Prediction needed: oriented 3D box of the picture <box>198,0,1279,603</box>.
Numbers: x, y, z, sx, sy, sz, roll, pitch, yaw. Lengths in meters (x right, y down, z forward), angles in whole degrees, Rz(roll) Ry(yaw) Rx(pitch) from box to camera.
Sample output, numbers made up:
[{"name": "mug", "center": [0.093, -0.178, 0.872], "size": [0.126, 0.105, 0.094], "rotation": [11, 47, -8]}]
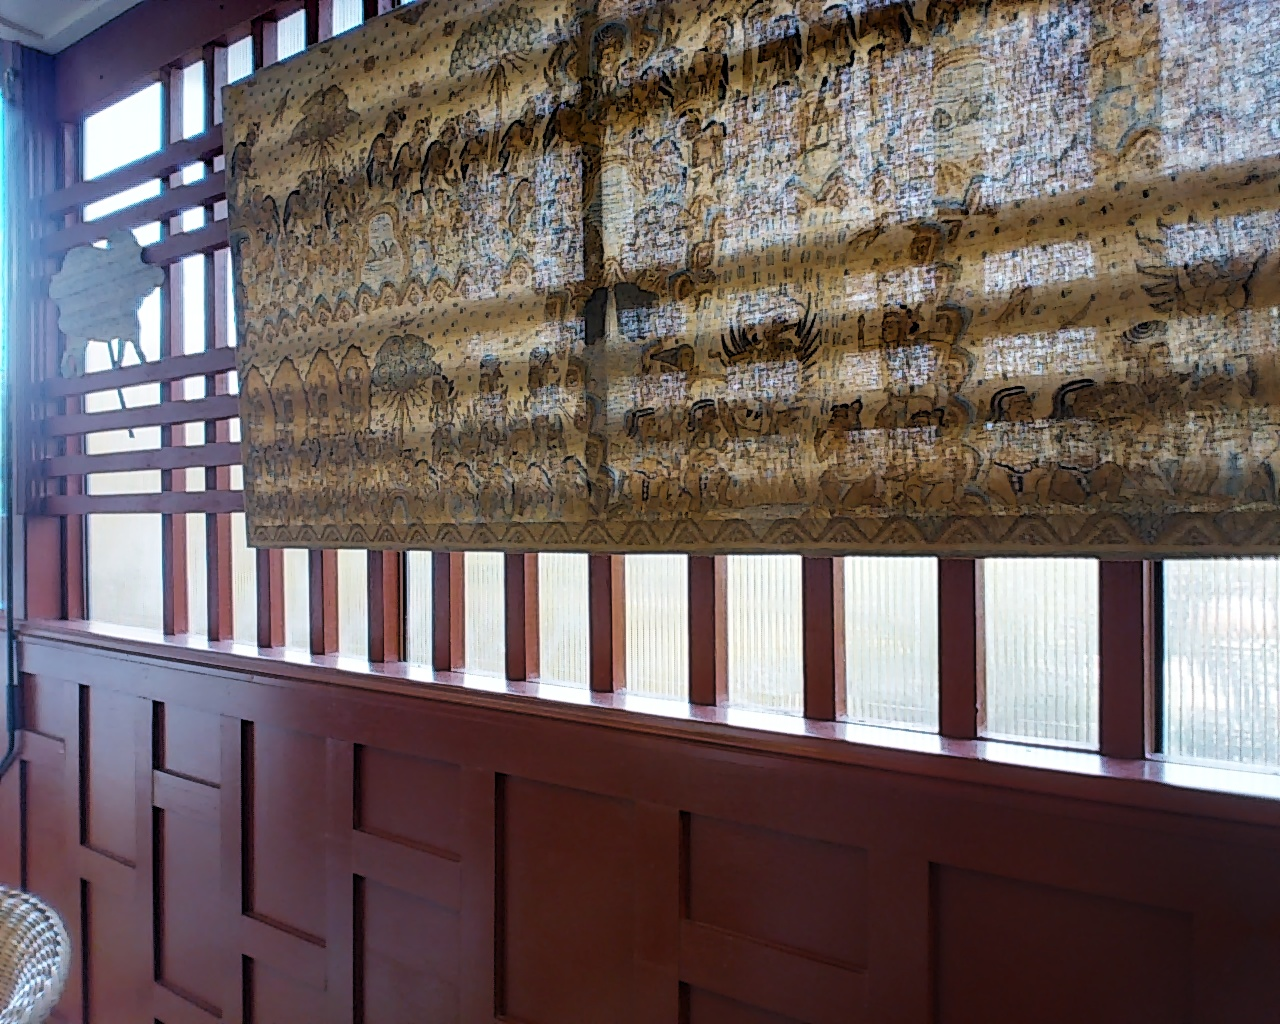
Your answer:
[{"name": "picture", "center": [-0.030, -0.350, 1.390], "size": [1.880, 0.860, 0.110], "rotation": [-1, -1, 39]}]
